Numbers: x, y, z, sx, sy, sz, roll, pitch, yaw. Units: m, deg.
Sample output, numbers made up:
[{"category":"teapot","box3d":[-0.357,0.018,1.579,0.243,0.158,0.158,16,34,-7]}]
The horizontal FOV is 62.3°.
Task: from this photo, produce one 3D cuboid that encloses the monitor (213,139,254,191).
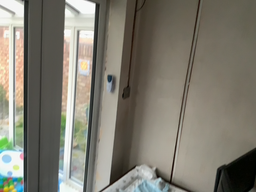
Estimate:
[{"category":"monitor","box3d":[0.590,0.520,1.220,0.040,0.460,0.450,17,17,42]}]
